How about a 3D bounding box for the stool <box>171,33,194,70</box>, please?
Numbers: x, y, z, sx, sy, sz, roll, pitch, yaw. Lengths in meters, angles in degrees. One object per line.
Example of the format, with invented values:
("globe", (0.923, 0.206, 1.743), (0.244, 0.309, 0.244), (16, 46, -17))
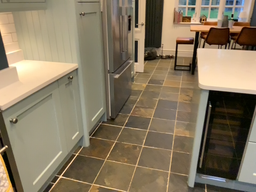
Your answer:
("stool", (1.210, -0.990, 4.680), (0.400, 0.690, 0.400), (7, 26, 14))
